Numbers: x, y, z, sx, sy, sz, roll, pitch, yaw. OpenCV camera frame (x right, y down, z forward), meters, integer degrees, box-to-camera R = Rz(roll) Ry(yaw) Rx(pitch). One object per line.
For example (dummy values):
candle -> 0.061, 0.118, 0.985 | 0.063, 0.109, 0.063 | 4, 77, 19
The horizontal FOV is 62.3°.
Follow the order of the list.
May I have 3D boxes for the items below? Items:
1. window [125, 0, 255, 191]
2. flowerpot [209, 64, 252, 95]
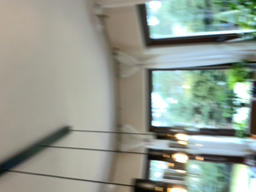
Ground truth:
window -> 1.030, 0.150, 2.940 | 1.120, 1.840, 2.700 | -29, -62, -73
flowerpot -> 1.520, -0.250, 3.210 | 0.310, 0.520, 0.410 | -43, -48, -70
